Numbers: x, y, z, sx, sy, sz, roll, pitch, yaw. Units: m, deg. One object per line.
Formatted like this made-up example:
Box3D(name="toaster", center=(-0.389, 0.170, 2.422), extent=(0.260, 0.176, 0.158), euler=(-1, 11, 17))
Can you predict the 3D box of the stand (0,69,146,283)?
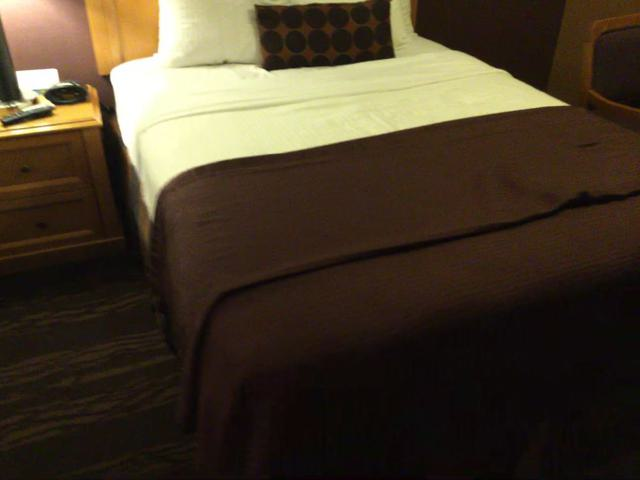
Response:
Box3D(name="stand", center=(-1.140, -0.270, 2.310), extent=(0.690, 0.650, 0.490), euler=(-13, 30, -21))
